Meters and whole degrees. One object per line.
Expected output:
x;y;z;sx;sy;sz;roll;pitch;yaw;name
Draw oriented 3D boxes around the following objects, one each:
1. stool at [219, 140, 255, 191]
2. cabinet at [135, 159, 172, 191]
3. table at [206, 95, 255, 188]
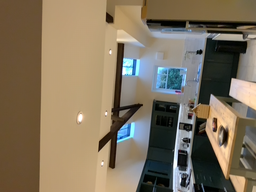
2.010;1.260;3.650;1.650;0.470;0.370;-36;-48;-75;stool
0.710;2.170;5.480;1.450;0.810;0.300;-35;-49;-75;cabinet
1.920;0.590;3.560;2.040;0.780;0.860;-35;-49;-75;table
